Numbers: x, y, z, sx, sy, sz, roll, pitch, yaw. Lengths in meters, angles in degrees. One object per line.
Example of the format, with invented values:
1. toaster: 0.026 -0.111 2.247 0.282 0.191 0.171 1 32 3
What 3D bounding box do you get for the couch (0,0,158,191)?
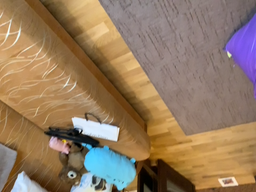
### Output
1. couch: -0.720 0.140 1.350 1.040 0.970 2.030 -19 133 25
